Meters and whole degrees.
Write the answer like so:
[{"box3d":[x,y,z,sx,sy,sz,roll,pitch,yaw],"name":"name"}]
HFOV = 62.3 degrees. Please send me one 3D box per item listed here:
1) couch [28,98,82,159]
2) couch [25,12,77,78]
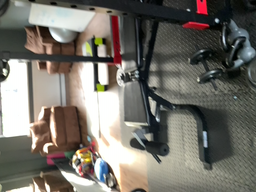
[{"box3d":[-1.620,0.700,4.570,0.930,0.860,0.970,-45,54,52],"name":"couch"},{"box3d":[-1.750,-1.070,4.690,1.000,0.860,0.920,-50,50,50],"name":"couch"}]
